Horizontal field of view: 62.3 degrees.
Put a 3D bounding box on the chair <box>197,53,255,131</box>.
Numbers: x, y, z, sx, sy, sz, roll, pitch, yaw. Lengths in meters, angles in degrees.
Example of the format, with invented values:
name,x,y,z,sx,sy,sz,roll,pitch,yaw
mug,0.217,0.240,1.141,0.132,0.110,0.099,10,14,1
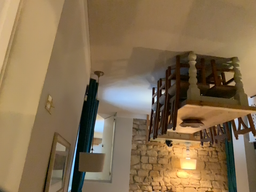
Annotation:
name,x,y,z,sx,sy,sz,roll,pitch,yaw
chair,1.390,-0.040,3.070,0.550,0.990,0.440,7,162,-11

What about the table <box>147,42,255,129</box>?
name,x,y,z,sx,sy,sz,roll,pitch,yaw
table,1.000,-0.020,3.500,0.960,0.800,1.740,6,162,-8
